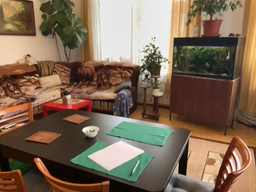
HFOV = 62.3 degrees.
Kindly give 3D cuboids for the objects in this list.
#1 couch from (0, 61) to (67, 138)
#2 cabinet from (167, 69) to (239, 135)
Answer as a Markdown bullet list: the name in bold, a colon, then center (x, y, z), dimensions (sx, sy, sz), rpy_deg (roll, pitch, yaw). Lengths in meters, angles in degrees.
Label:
- **couch**: center (-2.190, 0.020, 3.580), dimensions (0.960, 0.980, 2.160), rpy_deg (8, 17, 26)
- **cabinet**: center (1.280, 0.050, 3.730), dimensions (0.990, 0.890, 0.520), rpy_deg (13, 20, 38)
